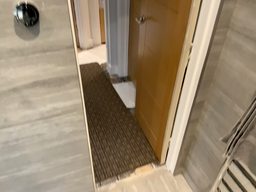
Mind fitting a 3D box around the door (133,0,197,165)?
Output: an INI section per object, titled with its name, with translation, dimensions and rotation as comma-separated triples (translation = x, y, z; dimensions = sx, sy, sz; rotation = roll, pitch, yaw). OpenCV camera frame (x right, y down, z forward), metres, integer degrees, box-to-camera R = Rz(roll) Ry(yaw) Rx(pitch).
[door]
translation = 0.200, -0.400, 1.410
dimensions = 0.060, 2.010, 0.640
rotation = -9, 40, -13
